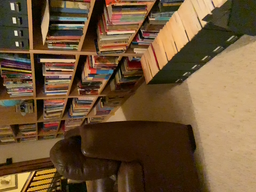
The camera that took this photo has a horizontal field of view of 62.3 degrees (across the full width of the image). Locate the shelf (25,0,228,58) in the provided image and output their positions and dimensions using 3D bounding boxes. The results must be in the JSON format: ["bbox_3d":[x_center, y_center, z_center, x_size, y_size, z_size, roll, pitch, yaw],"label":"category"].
[{"bbox_3d":[-0.030,-0.560,1.240,0.750,1.040,0.310,134,128,-59],"label":"shelf"}]

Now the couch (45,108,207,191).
[{"bbox_3d":[-0.120,0.760,1.750,1.140,0.940,1.080,152,112,-64],"label":"couch"}]
